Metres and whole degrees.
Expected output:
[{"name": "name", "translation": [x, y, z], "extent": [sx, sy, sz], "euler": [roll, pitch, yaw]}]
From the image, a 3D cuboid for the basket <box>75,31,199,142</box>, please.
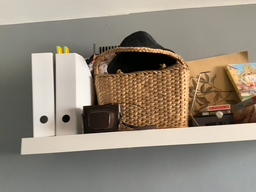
[{"name": "basket", "translation": [0.020, -0.020, 0.860], "extent": [0.390, 0.340, 0.290], "euler": [-3, -20, -1]}]
